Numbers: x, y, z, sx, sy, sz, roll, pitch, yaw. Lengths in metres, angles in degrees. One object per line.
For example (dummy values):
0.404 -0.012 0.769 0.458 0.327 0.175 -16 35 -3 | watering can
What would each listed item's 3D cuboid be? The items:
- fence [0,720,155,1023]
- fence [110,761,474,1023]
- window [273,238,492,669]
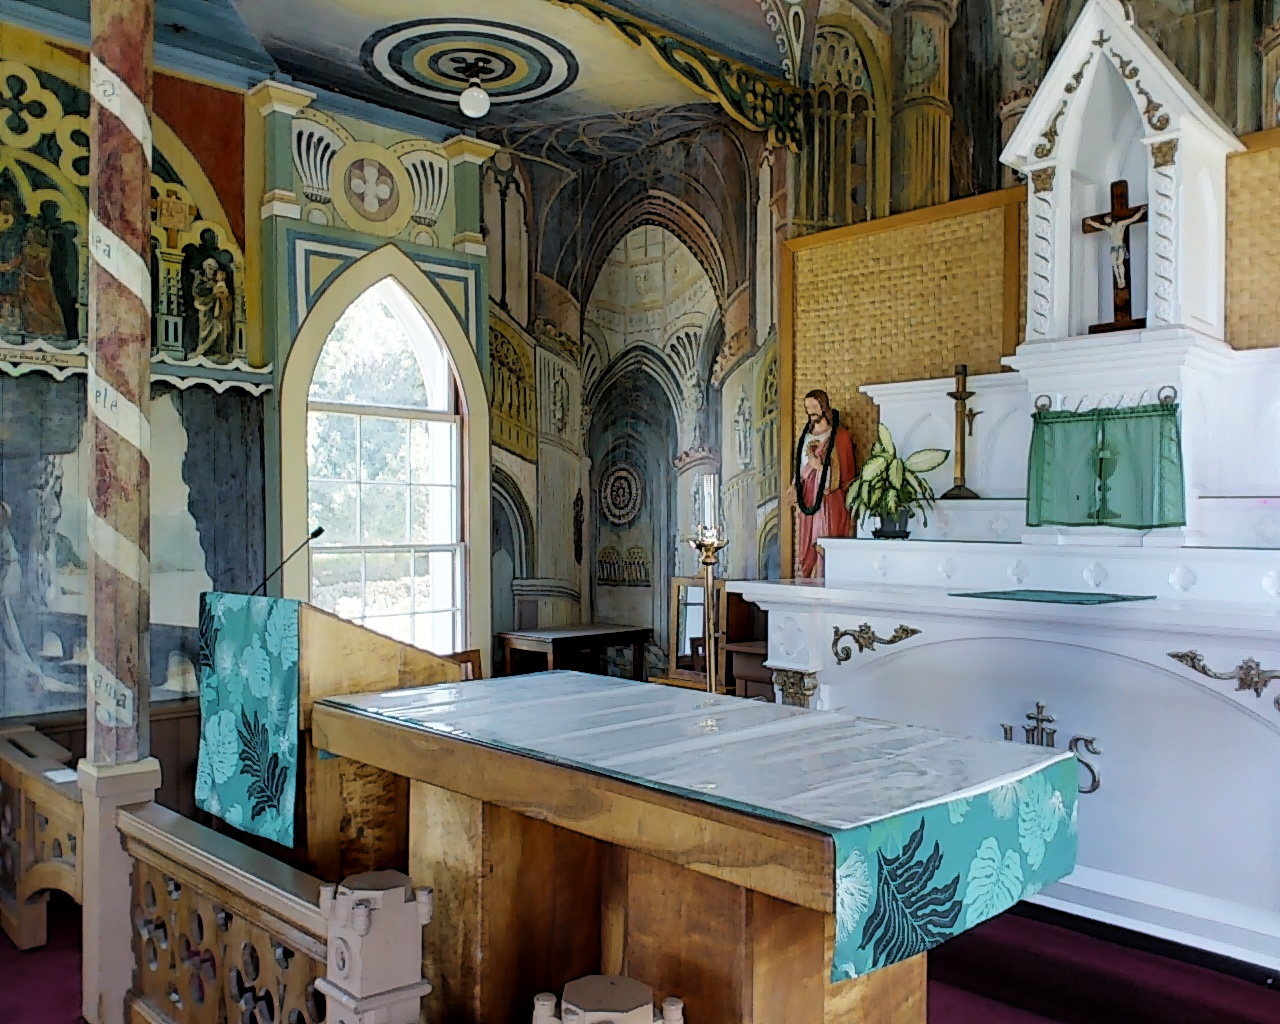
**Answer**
-1.879 1.070 3.400 0.200 0.630 1.310 0 -1 -44 | fence
-0.850 1.020 2.420 0.220 0.680 1.320 0 -1 -44 | fence
-1.180 -0.250 5.050 1.040 1.851 0.190 0 -1 -44 | window
